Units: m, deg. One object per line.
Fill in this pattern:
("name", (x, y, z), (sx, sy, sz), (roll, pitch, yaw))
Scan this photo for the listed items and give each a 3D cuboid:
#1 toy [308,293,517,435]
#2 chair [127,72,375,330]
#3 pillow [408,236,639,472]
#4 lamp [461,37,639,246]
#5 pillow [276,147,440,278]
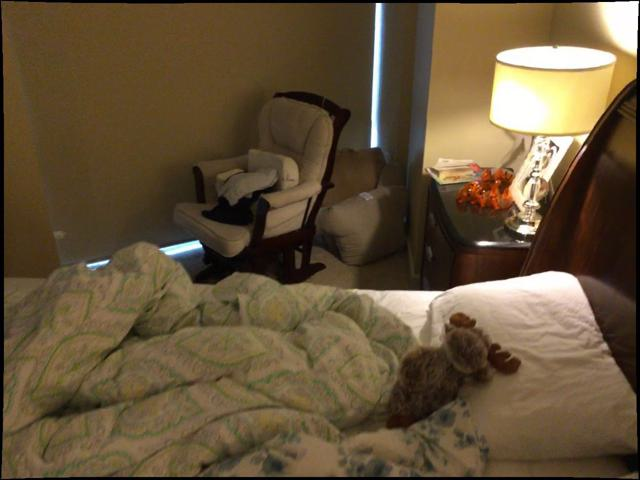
("toy", (0.209, 0.291, 1.420), (0.449, 0.160, 0.310), (2, 28, 4))
("chair", (-0.339, -0.281, 3.100), (0.939, 0.962, 0.809), (-23, 35, -35))
("pillow", (0.499, 0.241, 1.550), (0.469, 0.150, 0.770), (2, 28, 4))
("lamp", (0.768, -0.361, 2.030), (0.409, 0.601, 0.460), (2, 28, 4))
("pillow", (0.219, -0.200, 3.490), (0.709, 0.421, 0.650), (-21, 34, -33))
